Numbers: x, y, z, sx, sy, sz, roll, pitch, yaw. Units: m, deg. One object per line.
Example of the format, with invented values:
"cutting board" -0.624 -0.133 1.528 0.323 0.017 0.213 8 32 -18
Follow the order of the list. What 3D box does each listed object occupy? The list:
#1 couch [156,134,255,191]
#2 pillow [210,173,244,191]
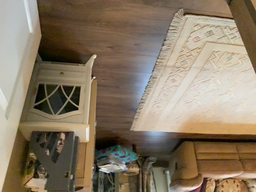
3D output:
"couch" 1.420 1.230 3.120 1.730 1.040 0.940 1 149 -7
"pillow" 1.440 1.320 3.090 0.410 0.320 0.190 5 174 -14
